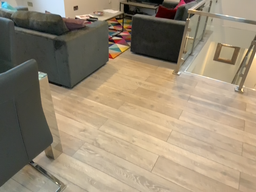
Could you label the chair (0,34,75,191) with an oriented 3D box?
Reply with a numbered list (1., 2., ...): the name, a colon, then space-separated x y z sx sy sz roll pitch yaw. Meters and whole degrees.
1. chair: -0.720 0.240 1.240 0.530 1.040 0.480 17 36 18
